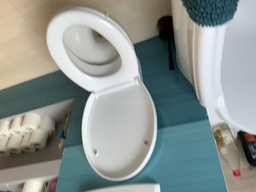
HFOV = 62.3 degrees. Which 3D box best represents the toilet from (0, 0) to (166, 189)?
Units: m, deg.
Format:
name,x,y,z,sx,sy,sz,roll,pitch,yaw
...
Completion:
name,x,y,z,sx,sy,sz,roll,pitch,yaw
toilet,-0.140,-0.130,0.930,0.390,0.860,0.510,-15,140,18
